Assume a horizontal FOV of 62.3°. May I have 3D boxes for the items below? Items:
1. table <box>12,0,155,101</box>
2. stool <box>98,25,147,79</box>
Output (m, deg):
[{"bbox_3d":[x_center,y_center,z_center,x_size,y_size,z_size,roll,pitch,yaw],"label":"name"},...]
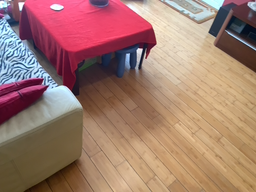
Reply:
[{"bbox_3d":[-0.390,-0.540,1.910,0.850,0.440,0.830,-27,59,-31],"label":"table"},{"bbox_3d":[-0.060,-0.410,1.960,0.290,0.310,0.290,-29,60,-32],"label":"stool"}]
